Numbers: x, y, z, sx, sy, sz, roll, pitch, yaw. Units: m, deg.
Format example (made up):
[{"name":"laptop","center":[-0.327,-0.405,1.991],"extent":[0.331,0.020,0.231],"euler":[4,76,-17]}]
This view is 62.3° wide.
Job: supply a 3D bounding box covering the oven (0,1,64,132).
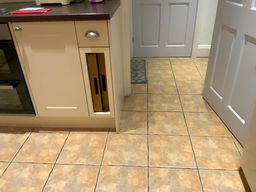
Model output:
[{"name":"oven","center":[-0.990,-0.260,1.780],"extent":[0.560,0.910,0.600],"euler":[2,31,4]}]
